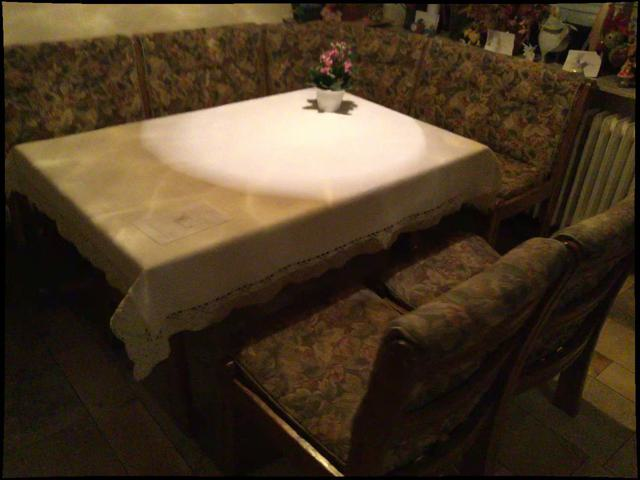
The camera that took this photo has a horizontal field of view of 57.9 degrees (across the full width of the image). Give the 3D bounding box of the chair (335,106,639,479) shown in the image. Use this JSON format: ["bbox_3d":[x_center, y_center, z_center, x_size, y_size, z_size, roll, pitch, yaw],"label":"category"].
[{"bbox_3d":[0.559,0.160,1.770,0.700,0.861,0.670,-20,39,-34],"label":"chair"}]

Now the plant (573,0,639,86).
[{"bbox_3d":[1.309,-0.851,2.480,0.260,0.280,0.250,-20,39,-34],"label":"plant"}]

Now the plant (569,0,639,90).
[{"bbox_3d":[1.369,-0.841,2.330,0.370,0.380,0.470,-20,39,-34],"label":"plant"}]

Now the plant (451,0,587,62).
[{"bbox_3d":[0.949,-1.081,2.790,0.330,0.290,0.480,-20,39,-34],"label":"plant"}]
